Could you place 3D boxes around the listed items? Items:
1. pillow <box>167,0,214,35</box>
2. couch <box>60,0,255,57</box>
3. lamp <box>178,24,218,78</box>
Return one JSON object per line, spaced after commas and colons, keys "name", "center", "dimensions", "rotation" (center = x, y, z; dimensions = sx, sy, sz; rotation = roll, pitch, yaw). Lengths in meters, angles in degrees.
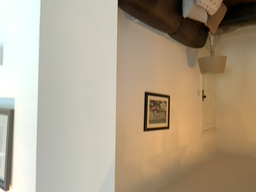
{"name": "pillow", "center": [0.580, -0.920, 1.970], "dimensions": [0.260, 0.540, 0.440], "rotation": [1, -147, 36]}
{"name": "couch", "center": [0.540, -1.030, 2.020], "dimensions": [1.140, 0.870, 1.970], "rotation": [-1, 179, 35]}
{"name": "lamp", "center": [1.070, -0.650, 3.240], "dimensions": [0.470, 0.680, 0.450], "rotation": [-1, 178, 34]}
